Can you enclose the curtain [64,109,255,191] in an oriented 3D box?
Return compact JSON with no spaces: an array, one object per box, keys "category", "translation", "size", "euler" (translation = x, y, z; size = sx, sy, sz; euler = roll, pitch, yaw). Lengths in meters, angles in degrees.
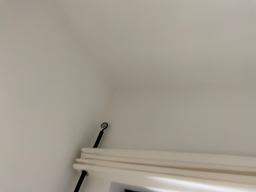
[{"category":"curtain","translation":[0.550,0.310,1.040],"size":[0.200,1.940,0.430],"euler":[58,-139,-42]}]
